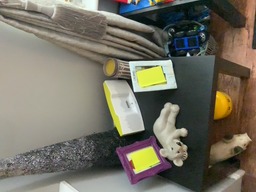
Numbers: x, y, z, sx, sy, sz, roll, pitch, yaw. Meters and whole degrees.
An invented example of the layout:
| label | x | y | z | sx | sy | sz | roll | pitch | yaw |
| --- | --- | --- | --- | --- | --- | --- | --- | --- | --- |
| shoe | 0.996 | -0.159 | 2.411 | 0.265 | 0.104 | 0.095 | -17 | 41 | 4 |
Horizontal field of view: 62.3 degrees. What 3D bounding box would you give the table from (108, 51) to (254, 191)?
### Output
| label | x | y | z | sx | sy | sz | roll | pitch | yaw |
| --- | --- | --- | --- | --- | --- | --- | --- | --- | --- |
| table | 0.280 | 0.110 | 1.180 | 0.590 | 0.470 | 0.600 | 6 | 94 | 44 |
